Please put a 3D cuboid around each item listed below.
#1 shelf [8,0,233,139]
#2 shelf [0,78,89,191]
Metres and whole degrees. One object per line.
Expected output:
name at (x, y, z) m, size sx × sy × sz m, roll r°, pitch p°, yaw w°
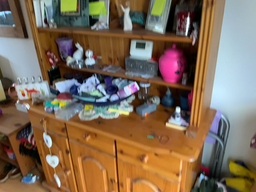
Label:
shelf at (-0.090, -0.430, 1.110) m, size 1.110 × 0.960 × 0.390 m, roll 13°, pitch 30°, yaw 27°
shelf at (-1.160, 0.270, 2.080) m, size 1.440 × 0.540 × 0.590 m, roll 14°, pitch 30°, yaw 29°
